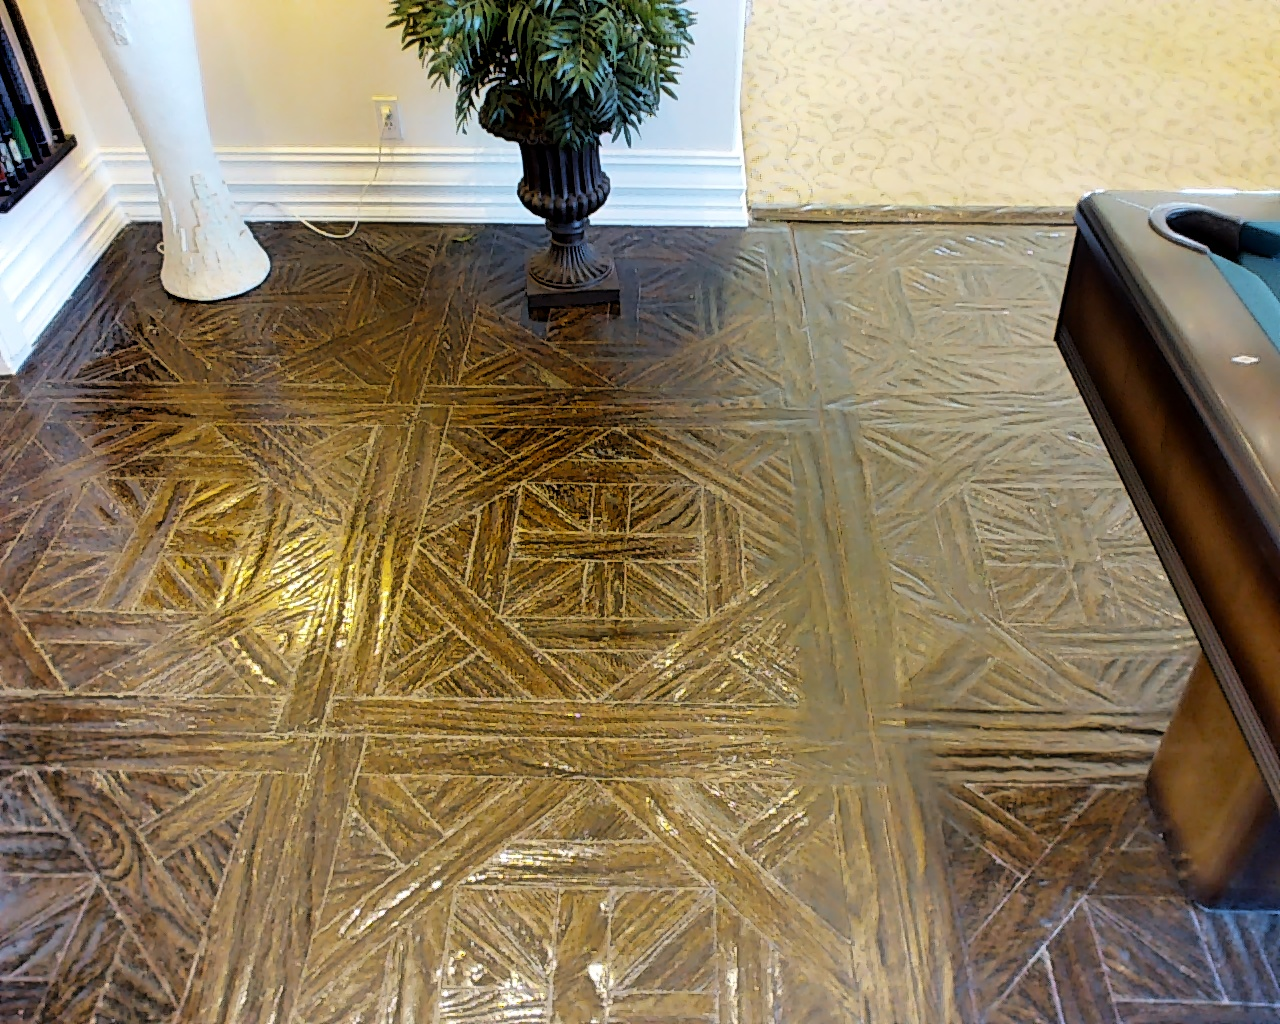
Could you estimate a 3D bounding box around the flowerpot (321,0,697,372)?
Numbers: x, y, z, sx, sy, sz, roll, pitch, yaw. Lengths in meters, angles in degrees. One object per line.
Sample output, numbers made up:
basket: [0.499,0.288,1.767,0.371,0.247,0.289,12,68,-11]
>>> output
flowerpot: [-0.230,-0.960,2.500,0.710,0.980,0.750,2,42,2]

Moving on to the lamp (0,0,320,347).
lamp: [-1.140,-1.150,2.310,0.470,1.490,0.350,-32,51,-31]
